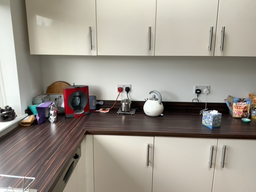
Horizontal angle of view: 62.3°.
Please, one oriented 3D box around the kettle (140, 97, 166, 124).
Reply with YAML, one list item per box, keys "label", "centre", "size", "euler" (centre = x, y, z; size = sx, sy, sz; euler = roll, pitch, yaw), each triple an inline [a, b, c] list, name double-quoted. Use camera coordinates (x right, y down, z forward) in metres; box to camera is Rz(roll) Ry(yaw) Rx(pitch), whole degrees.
- label: "kettle"
  centre: [0.240, 0.140, 2.100]
  size: [0.240, 0.210, 0.190]
  euler: [2, 14, 1]
